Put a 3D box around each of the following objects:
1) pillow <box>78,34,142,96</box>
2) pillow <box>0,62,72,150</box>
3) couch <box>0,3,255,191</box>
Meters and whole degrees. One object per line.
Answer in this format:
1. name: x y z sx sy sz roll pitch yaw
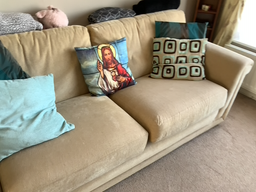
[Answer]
1. pillow: -0.120 -0.250 1.640 0.440 0.390 0.140 -15 24 -27
2. pillow: -0.650 0.050 1.300 0.480 0.440 0.180 -13 3 -32
3. couch: -0.140 -0.030 1.620 2.460 0.900 1.100 -19 40 -29
